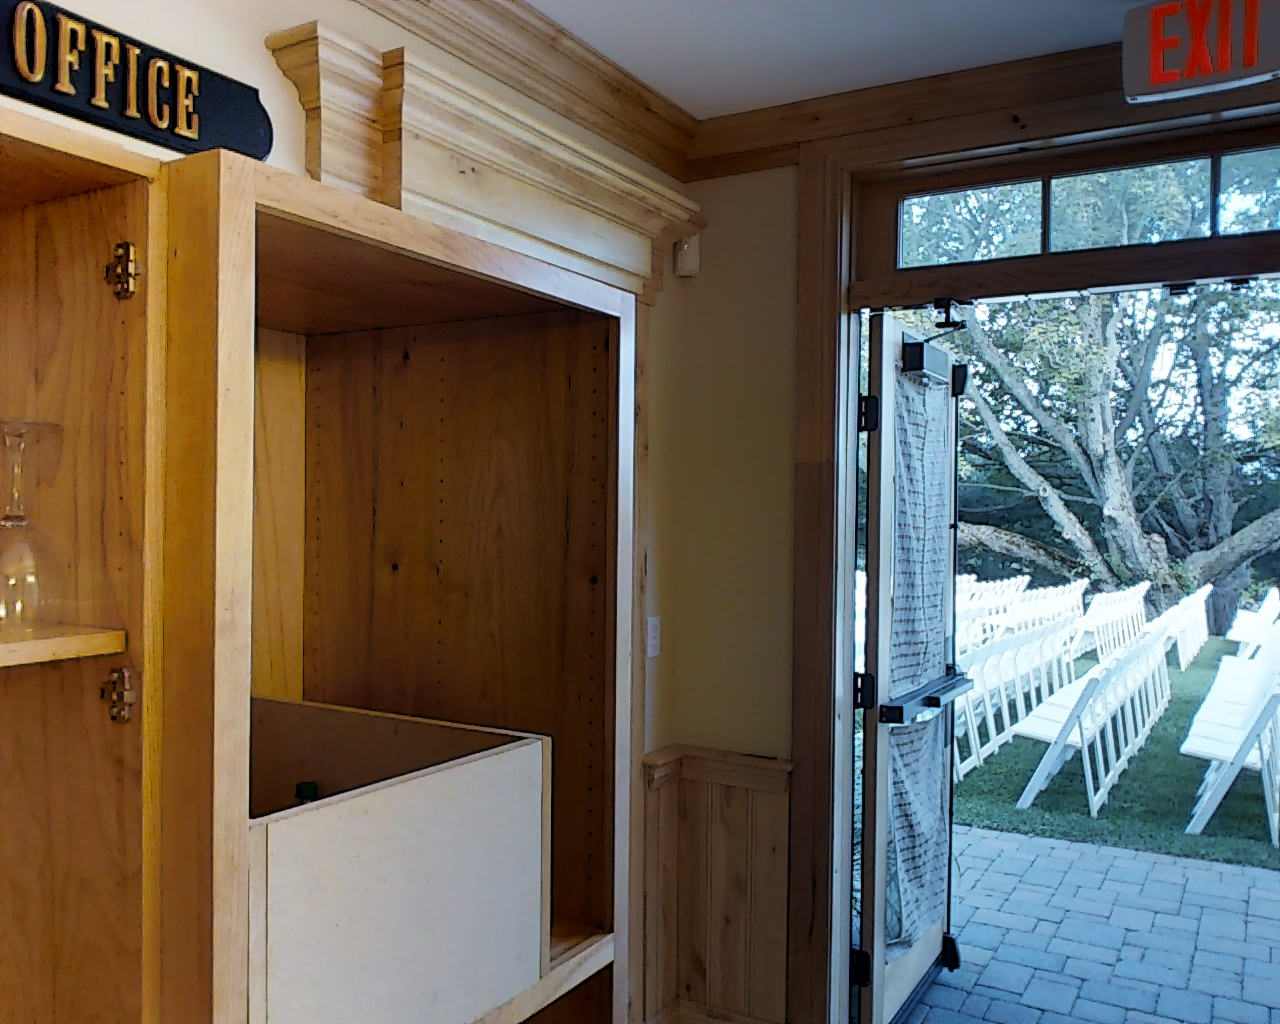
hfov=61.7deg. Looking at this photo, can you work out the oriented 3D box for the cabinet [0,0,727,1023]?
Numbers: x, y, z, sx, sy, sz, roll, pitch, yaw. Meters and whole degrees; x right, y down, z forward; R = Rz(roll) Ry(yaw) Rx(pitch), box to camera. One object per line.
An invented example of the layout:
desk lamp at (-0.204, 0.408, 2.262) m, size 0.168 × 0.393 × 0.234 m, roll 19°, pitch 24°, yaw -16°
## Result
cabinet at (-1.100, 0.580, 0.460) m, size 0.920 × 1.990 × 3.210 m, roll 1°, pitch 0°, yaw 31°
